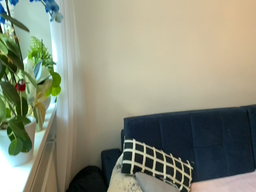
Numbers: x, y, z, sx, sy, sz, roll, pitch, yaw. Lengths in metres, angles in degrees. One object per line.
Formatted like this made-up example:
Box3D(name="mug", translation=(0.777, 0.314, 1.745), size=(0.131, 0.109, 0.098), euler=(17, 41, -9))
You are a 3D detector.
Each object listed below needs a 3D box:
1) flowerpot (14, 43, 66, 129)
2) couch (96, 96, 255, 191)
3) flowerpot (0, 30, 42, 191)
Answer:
Box3D(name="flowerpot", translation=(-0.510, -0.080, 1.290), size=(0.210, 0.460, 0.290), euler=(-5, 13, -14))
Box3D(name="couch", translation=(0.970, 0.570, 1.580), size=(2.270, 0.910, 0.980), euler=(-5, 13, -13))
Box3D(name="flowerpot", translation=(-0.420, 0.050, 0.670), size=(0.190, 0.470, 0.250), euler=(-4, 13, -12))
